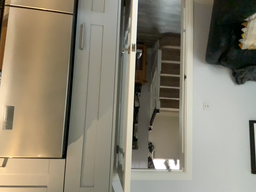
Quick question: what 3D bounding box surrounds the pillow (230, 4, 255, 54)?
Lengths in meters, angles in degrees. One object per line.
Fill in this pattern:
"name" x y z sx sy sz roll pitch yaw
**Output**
"pillow" 1.330 -0.630 2.080 0.510 0.410 0.200 3 -170 -11
